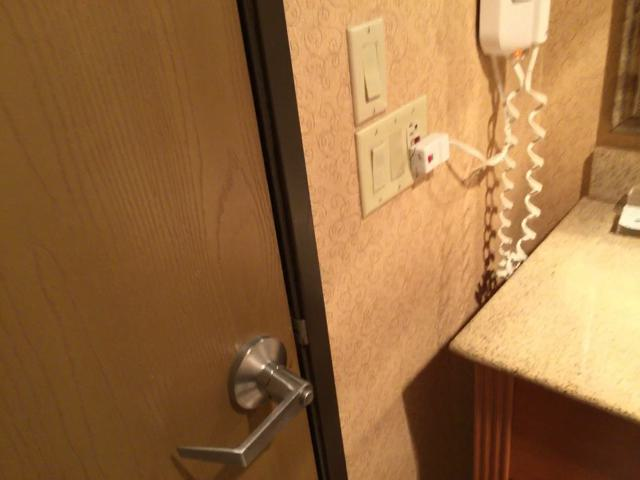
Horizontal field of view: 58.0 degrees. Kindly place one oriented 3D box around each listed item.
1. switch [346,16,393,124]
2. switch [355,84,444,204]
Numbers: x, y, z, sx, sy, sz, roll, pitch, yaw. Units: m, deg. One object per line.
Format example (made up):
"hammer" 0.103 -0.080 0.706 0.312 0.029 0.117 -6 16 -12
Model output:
"switch" 0.060 -0.200 0.680 0.010 0.110 0.070 15 34 37
"switch" 0.110 -0.130 0.760 0.030 0.110 0.160 15 34 37
